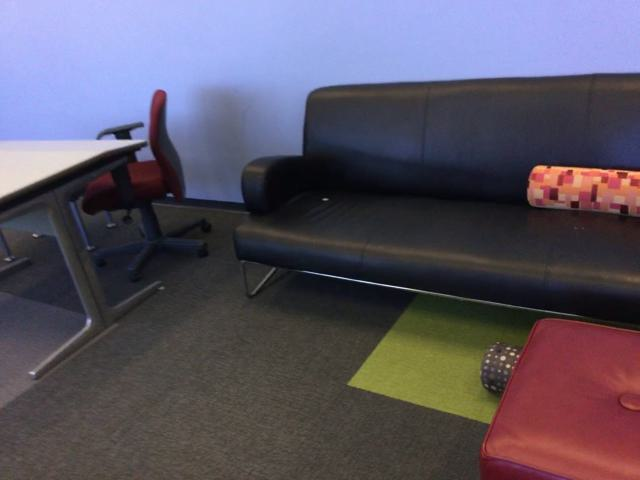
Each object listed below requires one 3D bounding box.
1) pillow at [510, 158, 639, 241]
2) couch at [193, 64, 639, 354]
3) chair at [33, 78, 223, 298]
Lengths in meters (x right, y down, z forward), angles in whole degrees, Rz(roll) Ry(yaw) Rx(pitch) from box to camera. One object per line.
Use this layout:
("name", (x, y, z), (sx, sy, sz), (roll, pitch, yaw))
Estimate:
("pillow", (1.020, -0.150, 2.090), (0.600, 0.210, 0.200), (9, 30, 33))
("couch", (0.610, -0.230, 2.200), (1.990, 0.660, 0.890), (9, 30, 33))
("chair", (-0.990, -0.310, 3.050), (0.660, 0.880, 0.670), (-15, 26, -15))
